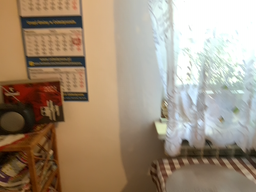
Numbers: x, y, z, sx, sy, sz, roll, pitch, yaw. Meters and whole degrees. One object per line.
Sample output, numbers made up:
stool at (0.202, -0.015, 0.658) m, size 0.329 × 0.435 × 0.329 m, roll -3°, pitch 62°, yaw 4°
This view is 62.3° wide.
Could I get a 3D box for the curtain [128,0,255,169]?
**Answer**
curtain at (0.580, -0.490, 0.910) m, size 1.160 × 1.680 × 0.260 m, roll 0°, pitch 17°, yaw 1°
